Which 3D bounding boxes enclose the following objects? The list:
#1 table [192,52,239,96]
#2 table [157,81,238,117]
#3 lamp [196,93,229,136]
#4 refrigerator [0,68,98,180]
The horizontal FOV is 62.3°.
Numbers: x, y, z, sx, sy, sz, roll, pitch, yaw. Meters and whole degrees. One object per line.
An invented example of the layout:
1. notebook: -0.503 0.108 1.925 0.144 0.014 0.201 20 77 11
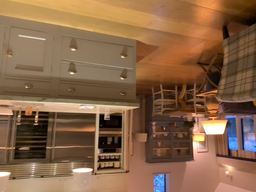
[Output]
1. table: 1.470 -0.350 3.660 0.410 0.590 0.650 3 171 -16
2. table: 2.010 0.170 6.280 2.010 0.820 1.110 4 171 -20
3. lamp: 1.450 0.330 3.660 0.350 0.710 0.350 4 171 -17
4. refrigerator: -2.120 0.610 4.730 2.690 2.190 0.820 4 171 -19
